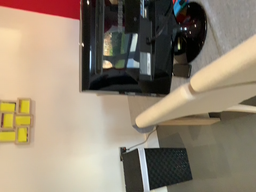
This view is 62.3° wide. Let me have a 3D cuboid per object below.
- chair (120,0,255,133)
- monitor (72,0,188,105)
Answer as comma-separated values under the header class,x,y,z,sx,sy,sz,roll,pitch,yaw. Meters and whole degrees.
class,x,y,z,sx,sy,sz,roll,pitch,yaw
chair,0.510,-0.120,1.170,0.420,0.960,0.520,137,130,-55
monitor,0.040,-0.280,0.950,0.040,0.460,0.560,167,114,-67
